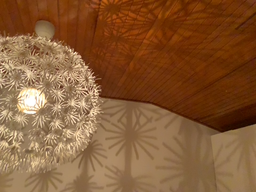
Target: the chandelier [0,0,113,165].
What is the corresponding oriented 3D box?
[{"bbox_3d":[-0.640,-0.080,1.440,0.780,1.020,0.820,-6,159,19],"label":"chandelier"}]
